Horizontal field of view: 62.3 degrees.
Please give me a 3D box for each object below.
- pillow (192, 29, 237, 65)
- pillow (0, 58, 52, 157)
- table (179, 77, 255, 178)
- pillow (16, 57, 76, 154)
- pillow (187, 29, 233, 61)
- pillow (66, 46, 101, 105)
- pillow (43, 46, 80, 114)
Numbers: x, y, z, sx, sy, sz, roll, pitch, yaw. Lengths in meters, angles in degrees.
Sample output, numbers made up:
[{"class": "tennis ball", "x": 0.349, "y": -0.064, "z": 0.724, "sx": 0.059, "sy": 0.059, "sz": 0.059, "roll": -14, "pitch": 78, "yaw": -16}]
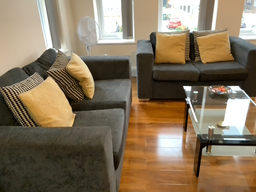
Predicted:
[{"class": "pillow", "x": 1.160, "y": -0.660, "z": 2.890, "sx": 0.450, "sy": 0.420, "sz": 0.160, "roll": -9, "pitch": 56, "yaw": -1}, {"class": "pillow", "x": -0.800, "y": 0.060, "z": 1.540, "sx": 0.180, "sy": 0.400, "sz": 0.610, "roll": 0, "pitch": 42, "yaw": 5}, {"class": "table", "x": 0.850, "y": 0.210, "z": 1.960, "sx": 0.600, "sy": 0.450, "sz": 0.970, "roll": 0, "pitch": 26, "yaw": 5}, {"class": "pillow", "x": -0.570, "y": 0.070, "z": 1.600, "sx": 0.180, "sy": 0.450, "sz": 0.570, "roll": -5, "pitch": 50, "yaw": 1}, {"class": "pillow", "x": 1.140, "y": -0.710, "z": 3.010, "sx": 0.510, "sy": 0.430, "sz": 0.170, "roll": 0, "pitch": 57, "yaw": 5}, {"class": "pillow", "x": -0.430, "y": -0.220, "z": 2.170, "sx": 0.200, "sy": 0.360, "sz": 0.510, "roll": -2, "pitch": 42, "yaw": 3}, {"class": "pillow", "x": -0.630, "y": -0.160, "z": 2.110, "sx": 0.180, "sy": 0.440, "sz": 0.500, "roll": -6, "pitch": 46, "yaw": -1}]
